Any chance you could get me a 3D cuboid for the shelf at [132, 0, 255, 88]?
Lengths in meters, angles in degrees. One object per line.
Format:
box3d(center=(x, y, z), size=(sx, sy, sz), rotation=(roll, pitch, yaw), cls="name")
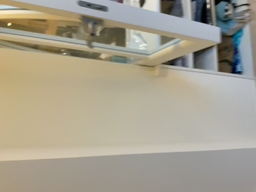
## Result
box3d(center=(0.500, -0.510, 1.640), size=(0.420, 0.840, 0.790), rotation=(165, 108, -65), cls="shelf")
